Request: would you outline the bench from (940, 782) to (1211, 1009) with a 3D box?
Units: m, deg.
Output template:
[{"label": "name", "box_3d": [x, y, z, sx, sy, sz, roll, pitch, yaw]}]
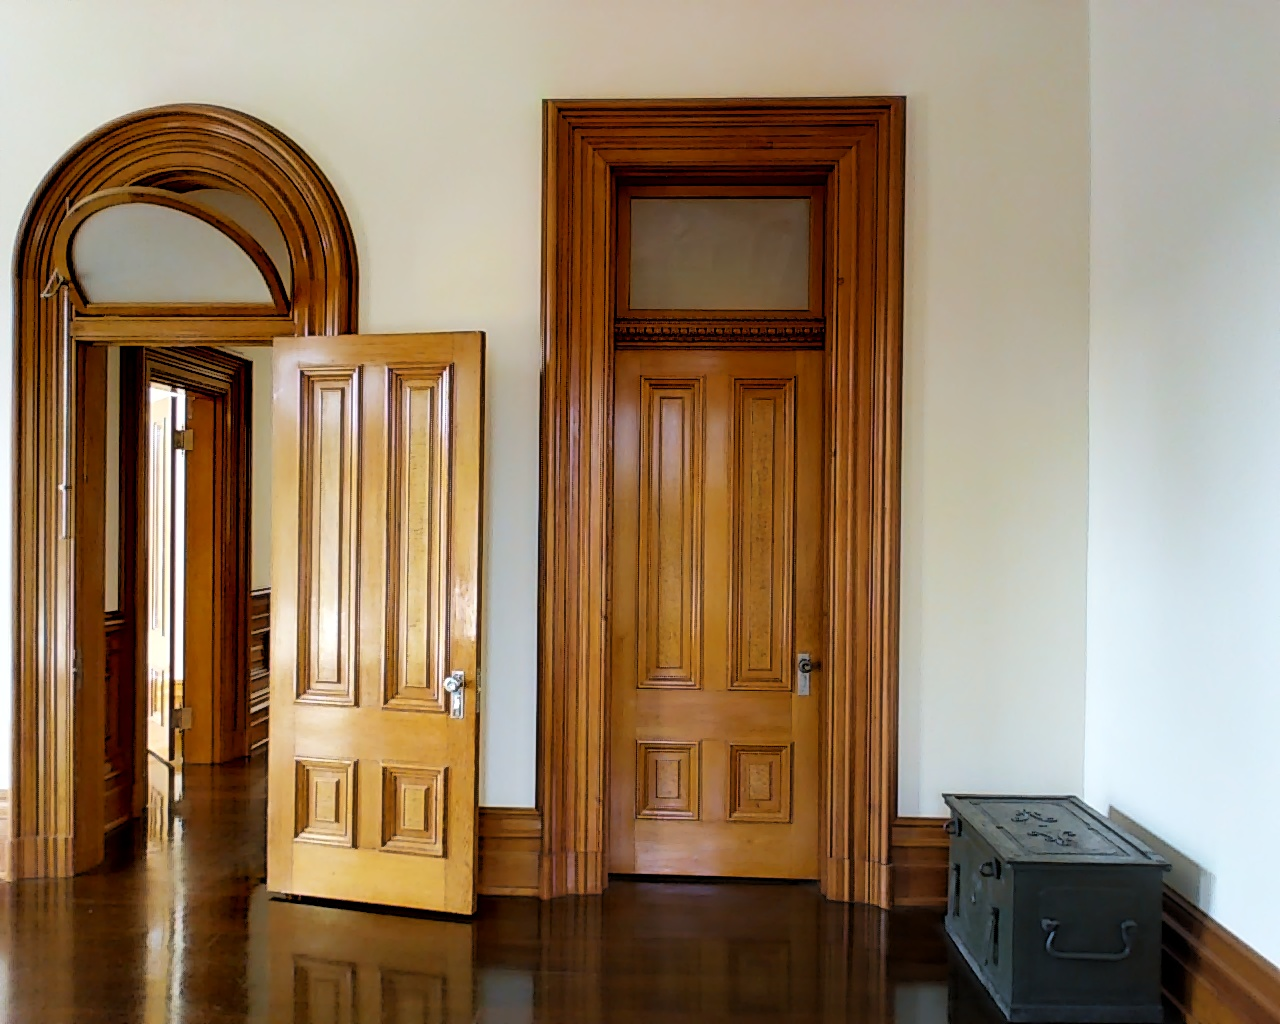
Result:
[{"label": "bench", "box_3d": [1.450, 1.280, 3.720, 0.620, 0.470, 0.850, 1, 0, 3]}]

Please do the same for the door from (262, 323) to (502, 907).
[{"label": "door", "box_3d": [-1.040, 0.390, 4.300, 0.990, 2.240, 0.090, 1, 0, 15]}]

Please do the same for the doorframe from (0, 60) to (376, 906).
[{"label": "doorframe", "box_3d": [-1.920, -0.120, 4.370, 1.540, 3.220, 0.480, 1, 0, 3]}]

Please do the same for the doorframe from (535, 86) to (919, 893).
[{"label": "doorframe", "box_3d": [0.350, -0.100, 4.420, 1.520, 3.240, 0.130, 1, 0, 3]}]
